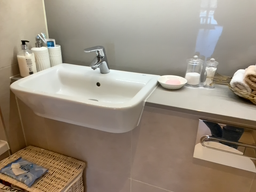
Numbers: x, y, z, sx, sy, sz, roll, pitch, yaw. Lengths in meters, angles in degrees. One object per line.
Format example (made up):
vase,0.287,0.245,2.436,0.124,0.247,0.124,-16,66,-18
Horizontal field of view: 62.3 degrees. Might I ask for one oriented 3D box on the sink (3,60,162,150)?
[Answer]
sink,-0.160,-0.010,0.950,0.530,0.150,0.430,9,26,19
